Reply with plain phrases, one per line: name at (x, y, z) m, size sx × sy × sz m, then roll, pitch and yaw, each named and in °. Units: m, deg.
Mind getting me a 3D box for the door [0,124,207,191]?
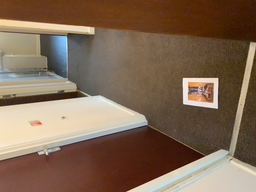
door at (-0.410, 0.470, 1.210) m, size 0.660 × 1.950 × 0.060 m, roll 21°, pitch 113°, yaw 50°
